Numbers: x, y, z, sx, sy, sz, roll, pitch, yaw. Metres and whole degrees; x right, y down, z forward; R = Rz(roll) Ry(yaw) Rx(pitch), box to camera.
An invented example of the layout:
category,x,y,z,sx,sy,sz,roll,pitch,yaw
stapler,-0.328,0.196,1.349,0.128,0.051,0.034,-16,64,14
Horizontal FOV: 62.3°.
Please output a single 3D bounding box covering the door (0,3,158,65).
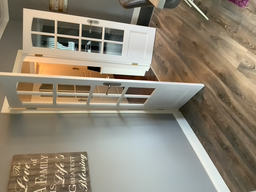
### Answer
category,x,y,z,sx,sy,sz,roll,pitch,yaw
door,-0.730,-0.870,3.160,0.050,2.480,0.650,-133,48,-63
